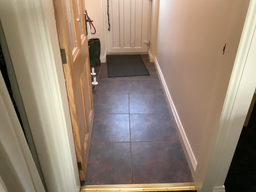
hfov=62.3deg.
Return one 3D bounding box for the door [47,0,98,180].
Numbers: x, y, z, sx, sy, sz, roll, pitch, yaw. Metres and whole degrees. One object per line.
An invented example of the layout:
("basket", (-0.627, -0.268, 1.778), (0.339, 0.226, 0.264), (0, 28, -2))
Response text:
("door", (-0.350, -0.450, 1.480), (0.070, 1.990, 0.880), (0, 30, -1))
